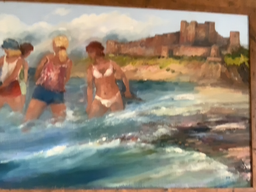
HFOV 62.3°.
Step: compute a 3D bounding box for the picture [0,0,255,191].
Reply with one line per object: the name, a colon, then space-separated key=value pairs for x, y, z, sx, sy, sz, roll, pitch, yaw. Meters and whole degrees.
picture: x=-0.190 y=-0.020 z=0.680 sx=1.340 sy=0.760 sz=0.060 roll=1 pitch=-5 yaw=-6
